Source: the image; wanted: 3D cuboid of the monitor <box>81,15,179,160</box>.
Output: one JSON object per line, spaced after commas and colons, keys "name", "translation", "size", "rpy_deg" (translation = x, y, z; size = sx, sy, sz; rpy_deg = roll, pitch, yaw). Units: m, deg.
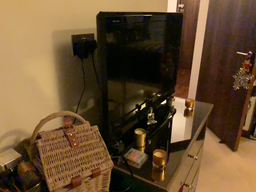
{"name": "monitor", "translation": [0.070, -0.120, 1.110], "size": [0.070, 0.540, 0.790], "rpy_deg": [16, 28, 28]}
